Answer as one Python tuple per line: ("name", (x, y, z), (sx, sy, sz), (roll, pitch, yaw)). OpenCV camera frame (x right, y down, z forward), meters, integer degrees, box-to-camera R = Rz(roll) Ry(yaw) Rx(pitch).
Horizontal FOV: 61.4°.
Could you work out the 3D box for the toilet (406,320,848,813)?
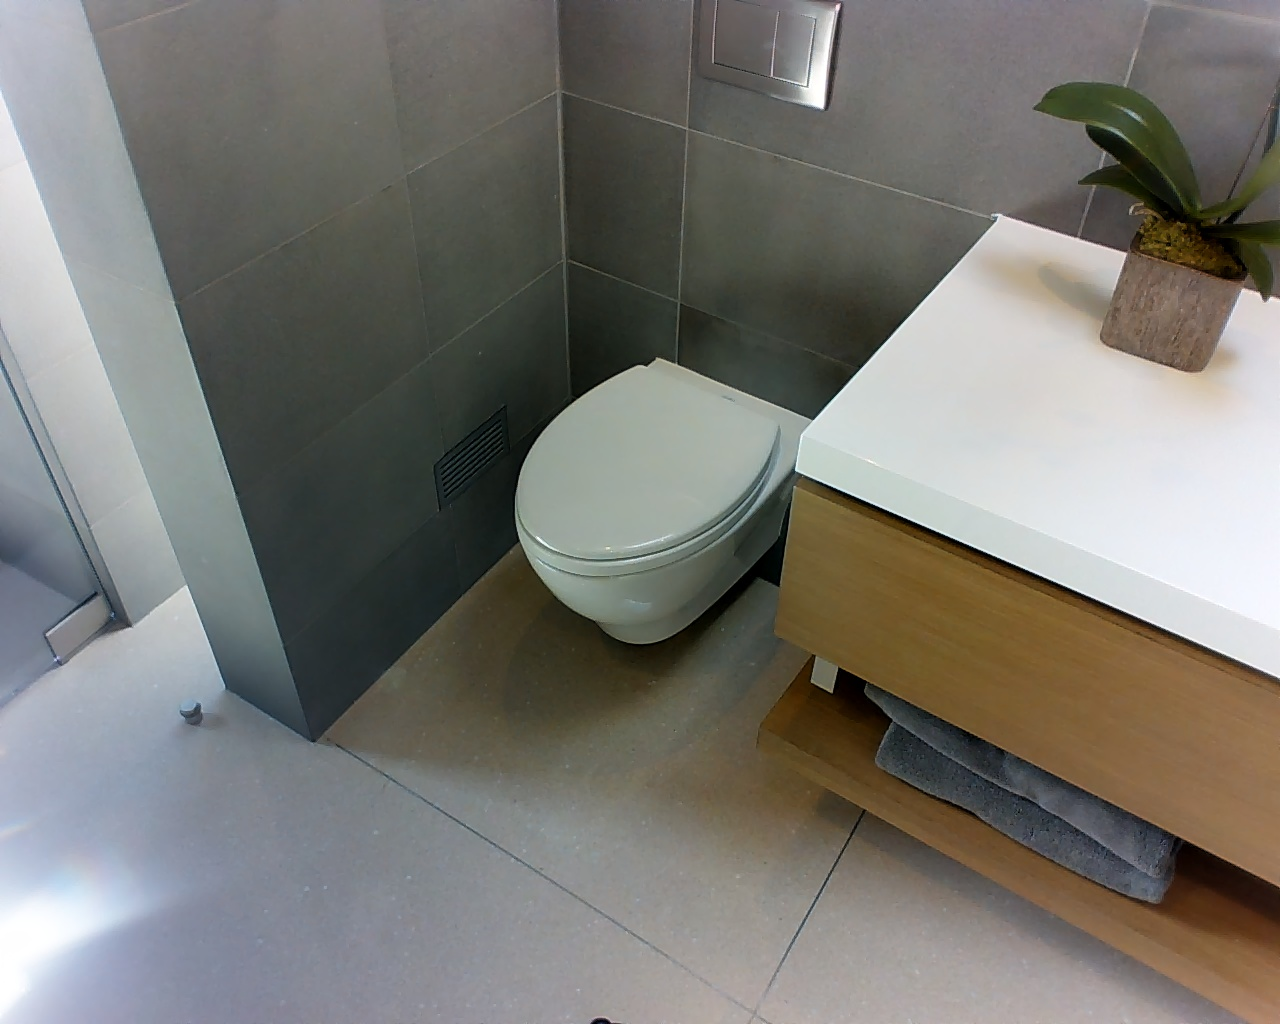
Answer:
("toilet", (-0.010, 0.070, 1.880), (0.450, 0.490, 0.570), (28, 48, 26))
